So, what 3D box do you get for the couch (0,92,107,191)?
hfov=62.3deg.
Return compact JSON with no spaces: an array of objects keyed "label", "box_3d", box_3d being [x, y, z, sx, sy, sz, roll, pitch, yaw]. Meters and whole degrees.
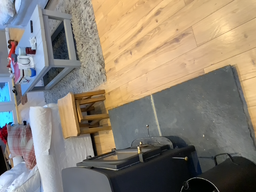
[{"label":"couch","box_3d":[-1.040,0.710,2.540,1.410,0.770,1.130,-22,77,49]}]
